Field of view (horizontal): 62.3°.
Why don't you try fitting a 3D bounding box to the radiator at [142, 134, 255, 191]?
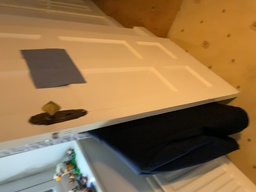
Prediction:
[{"bbox_3d":[0.560,0.570,1.100,0.800,0.650,0.070,46,130,37],"label":"radiator"}]
